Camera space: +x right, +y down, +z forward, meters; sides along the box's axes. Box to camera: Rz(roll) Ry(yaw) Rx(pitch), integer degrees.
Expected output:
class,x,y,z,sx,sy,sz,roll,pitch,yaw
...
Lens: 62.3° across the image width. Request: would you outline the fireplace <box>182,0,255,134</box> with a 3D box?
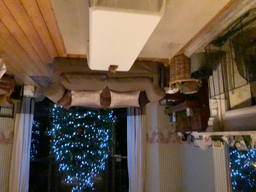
class,x,y,z,sx,sy,sz,roll,pitch,yaw
fireplace,1.420,-0.220,2.360,0.930,1.270,1.720,2,170,-9
